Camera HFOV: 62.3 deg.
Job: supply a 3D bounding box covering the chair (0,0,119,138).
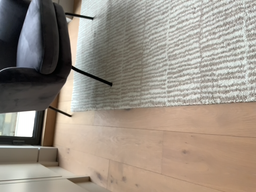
[{"bbox_3d":[-0.670,-0.230,1.330,0.750,0.820,0.710,-41,52,37],"label":"chair"}]
